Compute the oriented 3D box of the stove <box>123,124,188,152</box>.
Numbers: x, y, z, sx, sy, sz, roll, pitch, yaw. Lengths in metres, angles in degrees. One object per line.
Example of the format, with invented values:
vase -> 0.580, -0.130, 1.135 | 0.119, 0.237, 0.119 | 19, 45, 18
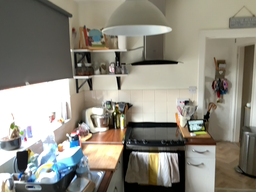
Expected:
stove -> 0.300, 0.460, 2.430 | 0.640, 0.090, 0.640 | 0, 9, 6
